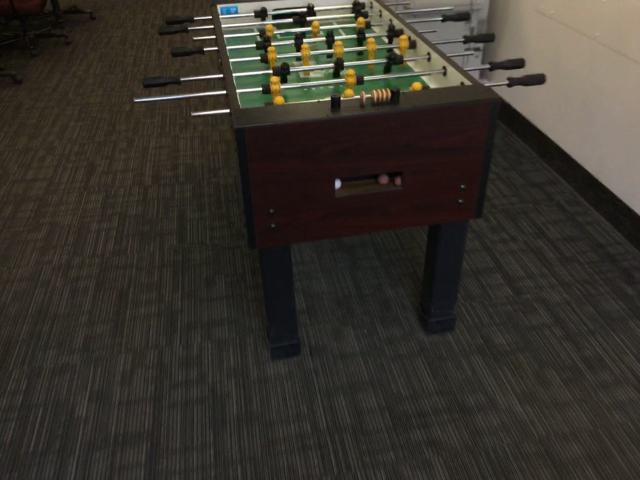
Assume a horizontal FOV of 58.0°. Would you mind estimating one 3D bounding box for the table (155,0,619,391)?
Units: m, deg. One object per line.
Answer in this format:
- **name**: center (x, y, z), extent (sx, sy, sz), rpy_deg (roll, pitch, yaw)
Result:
- **table**: center (0.040, -0.390, 2.230), extent (1.160, 0.870, 1.480), rpy_deg (-9, 37, -11)
